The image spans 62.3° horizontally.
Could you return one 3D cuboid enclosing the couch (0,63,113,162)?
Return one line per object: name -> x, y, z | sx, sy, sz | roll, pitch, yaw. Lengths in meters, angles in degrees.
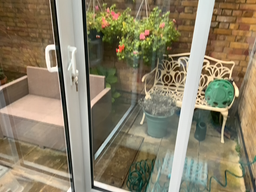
couch -> -0.940, 0.130, 2.650 | 1.320, 0.760, 0.720 | 10, 27, 15
